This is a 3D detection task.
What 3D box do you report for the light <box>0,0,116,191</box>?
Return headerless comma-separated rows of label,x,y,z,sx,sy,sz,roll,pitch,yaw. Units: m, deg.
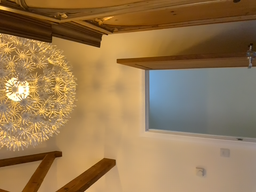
light,-1.440,0.000,2.090,1.090,2.080,1.380,-67,-31,-41
